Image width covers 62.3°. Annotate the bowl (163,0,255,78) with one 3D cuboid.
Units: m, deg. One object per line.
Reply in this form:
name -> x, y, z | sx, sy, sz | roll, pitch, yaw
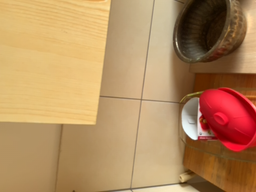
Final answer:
bowl -> 0.260, -0.290, 0.620 | 0.250, 0.130, 0.450 | 17, 100, 64
